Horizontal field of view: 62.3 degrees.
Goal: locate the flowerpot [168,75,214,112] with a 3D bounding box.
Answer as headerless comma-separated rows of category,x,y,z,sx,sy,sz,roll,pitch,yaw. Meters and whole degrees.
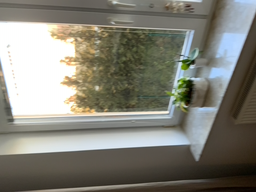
flowerpot,0.420,-0.020,1.450,0.190,0.200,0.180,-109,21,-57
